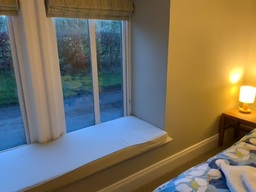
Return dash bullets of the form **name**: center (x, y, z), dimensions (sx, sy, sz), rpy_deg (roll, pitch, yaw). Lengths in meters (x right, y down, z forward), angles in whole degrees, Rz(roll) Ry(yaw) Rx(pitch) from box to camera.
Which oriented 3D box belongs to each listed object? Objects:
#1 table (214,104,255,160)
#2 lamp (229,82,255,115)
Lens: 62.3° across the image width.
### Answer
- **table**: center (1.460, 0.420, 2.660), dimensions (0.500, 0.430, 0.470), rpy_deg (-14, 21, -37)
- **lamp**: center (1.480, 0.020, 2.690), dimensions (0.300, 0.330, 0.200), rpy_deg (-14, 21, -37)
